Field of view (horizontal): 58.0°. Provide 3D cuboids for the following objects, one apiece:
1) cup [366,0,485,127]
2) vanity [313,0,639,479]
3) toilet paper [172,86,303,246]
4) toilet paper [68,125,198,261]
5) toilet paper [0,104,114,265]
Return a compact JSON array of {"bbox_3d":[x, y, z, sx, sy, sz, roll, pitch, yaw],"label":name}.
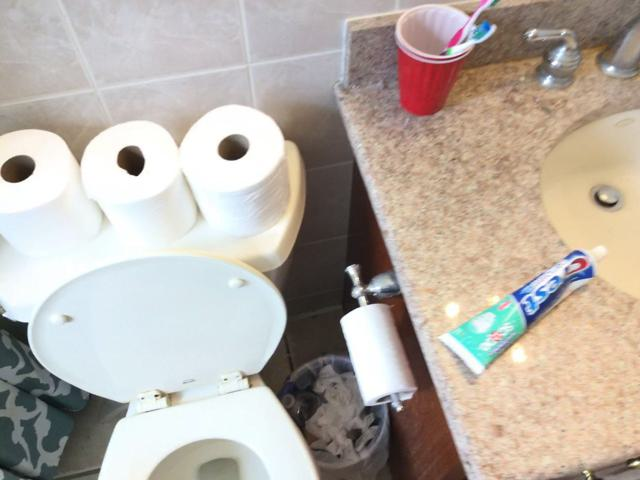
[{"bbox_3d":[0.130,-0.230,0.750,0.110,0.120,0.090,-11,59,-8],"label":"cup"},{"bbox_3d":[0.460,0.120,1.010,0.830,0.890,0.590,-11,59,-8],"label":"vanity"},{"bbox_3d":[-0.110,-0.100,0.780,0.140,0.110,0.160,-11,59,-8],"label":"toilet paper"},{"bbox_3d":[-0.240,-0.060,0.750,0.130,0.110,0.110,-11,59,-8],"label":"toilet paper"},{"bbox_3d":[-0.370,-0.070,0.750,0.160,0.120,0.140,-11,59,-8],"label":"toilet paper"}]
